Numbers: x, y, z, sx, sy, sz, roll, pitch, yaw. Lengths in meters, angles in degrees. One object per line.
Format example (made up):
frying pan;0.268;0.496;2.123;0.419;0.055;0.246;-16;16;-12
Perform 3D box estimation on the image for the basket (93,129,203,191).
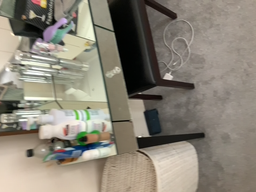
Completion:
basket;0.130;0.530;1.270;0.360;0.570;0.560;6;93;42
